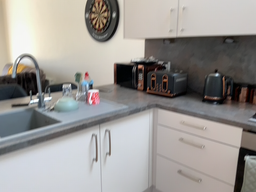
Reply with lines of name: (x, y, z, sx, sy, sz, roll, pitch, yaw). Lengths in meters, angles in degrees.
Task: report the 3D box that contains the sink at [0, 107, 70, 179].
sink: (-0.600, 0.230, 1.230, 0.330, 0.190, 0.430, -13, 19, -43)
